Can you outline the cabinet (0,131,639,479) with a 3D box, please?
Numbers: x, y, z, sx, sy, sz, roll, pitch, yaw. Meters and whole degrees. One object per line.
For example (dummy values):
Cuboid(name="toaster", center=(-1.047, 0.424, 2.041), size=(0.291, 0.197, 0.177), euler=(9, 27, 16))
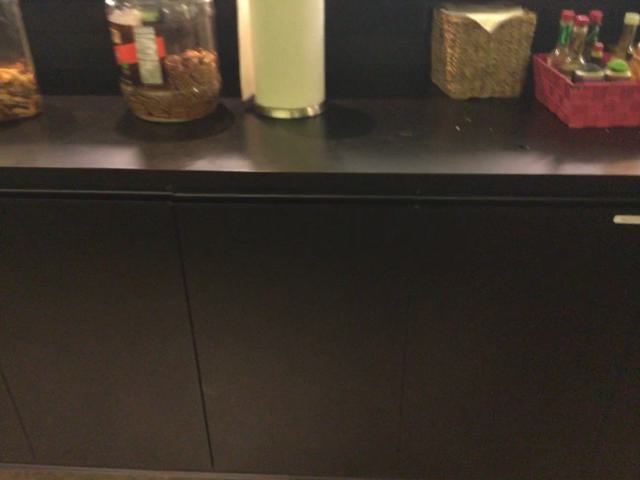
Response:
Cuboid(name="cabinet", center=(-0.440, 0.230, 1.160), size=(4.550, 0.890, 0.100), euler=(3, 30, 2))
